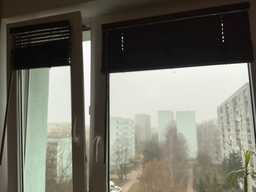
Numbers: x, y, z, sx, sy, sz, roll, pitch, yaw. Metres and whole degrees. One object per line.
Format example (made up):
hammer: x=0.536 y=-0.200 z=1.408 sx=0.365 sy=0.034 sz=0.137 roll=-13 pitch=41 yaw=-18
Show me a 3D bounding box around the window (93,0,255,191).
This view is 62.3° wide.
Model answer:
window: x=0.210 y=0.180 z=1.060 sx=0.780 sy=1.360 sz=0.110 roll=-3 pitch=-8 yaw=15
